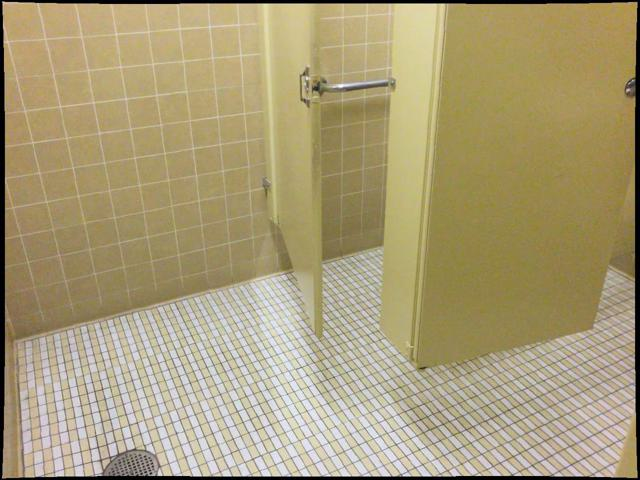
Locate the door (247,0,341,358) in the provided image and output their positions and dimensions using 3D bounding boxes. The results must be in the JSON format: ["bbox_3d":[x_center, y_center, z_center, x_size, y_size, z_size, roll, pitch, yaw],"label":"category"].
[{"bbox_3d":[-0.110,-0.511,1.780,0.110,1.493,0.870,-7,26,-10],"label":"door"}]

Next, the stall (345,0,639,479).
[{"bbox_3d":[1.007,-0.130,1.450,1.537,1.573,1.090,-14,28,-24],"label":"stall"}]

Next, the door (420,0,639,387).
[{"bbox_3d":[0.569,-0.331,1.390,0.589,1.493,0.110,-10,28,-16],"label":"door"}]
